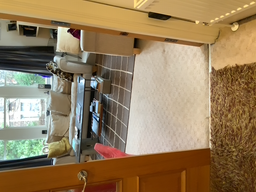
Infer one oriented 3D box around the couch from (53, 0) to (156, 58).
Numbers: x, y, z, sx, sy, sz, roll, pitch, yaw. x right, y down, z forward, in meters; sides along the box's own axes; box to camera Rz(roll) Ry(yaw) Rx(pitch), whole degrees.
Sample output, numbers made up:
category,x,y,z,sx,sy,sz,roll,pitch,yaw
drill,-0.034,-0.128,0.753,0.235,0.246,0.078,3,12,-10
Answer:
category,x,y,z,sx,sy,sz,roll,pitch,yaw
couch,-0.550,-1.180,3.160,2.290,0.800,0.930,-149,64,-61
